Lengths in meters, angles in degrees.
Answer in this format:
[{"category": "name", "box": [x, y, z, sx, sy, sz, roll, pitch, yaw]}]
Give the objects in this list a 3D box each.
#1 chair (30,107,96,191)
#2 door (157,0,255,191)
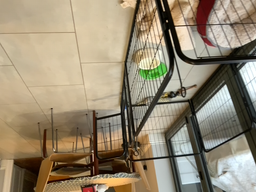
[{"category": "chair", "box": [-0.700, 0.620, 2.260, 0.540, 0.850, 0.430, 8, 150, -28]}, {"category": "door", "box": [0.940, 0.910, 1.750, 0.270, 2.340, 3.160, -4, 153, -8]}]
